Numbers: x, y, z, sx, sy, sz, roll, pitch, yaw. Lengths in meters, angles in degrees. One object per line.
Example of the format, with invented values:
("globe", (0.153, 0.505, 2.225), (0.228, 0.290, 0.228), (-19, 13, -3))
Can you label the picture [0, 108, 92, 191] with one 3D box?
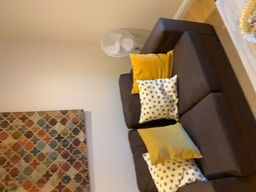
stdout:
("picture", (-0.820, 0.540, 2.010), (0.040, 0.880, 0.860), (124, 140, -58))

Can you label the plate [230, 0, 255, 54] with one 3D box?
("plate", (0.790, -0.470, 1.240), (0.330, 0.050, 0.300), (121, 142, -56))
